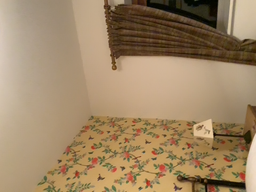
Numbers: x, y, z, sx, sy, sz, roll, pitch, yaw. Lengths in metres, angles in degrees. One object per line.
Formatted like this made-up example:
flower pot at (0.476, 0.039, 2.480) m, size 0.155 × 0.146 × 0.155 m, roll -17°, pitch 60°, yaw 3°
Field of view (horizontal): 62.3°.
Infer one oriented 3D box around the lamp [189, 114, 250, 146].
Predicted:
lamp at (0.780, 0.290, 1.870) m, size 0.210 × 0.460 × 0.150 m, roll -60°, pitch -32°, yaw -60°
